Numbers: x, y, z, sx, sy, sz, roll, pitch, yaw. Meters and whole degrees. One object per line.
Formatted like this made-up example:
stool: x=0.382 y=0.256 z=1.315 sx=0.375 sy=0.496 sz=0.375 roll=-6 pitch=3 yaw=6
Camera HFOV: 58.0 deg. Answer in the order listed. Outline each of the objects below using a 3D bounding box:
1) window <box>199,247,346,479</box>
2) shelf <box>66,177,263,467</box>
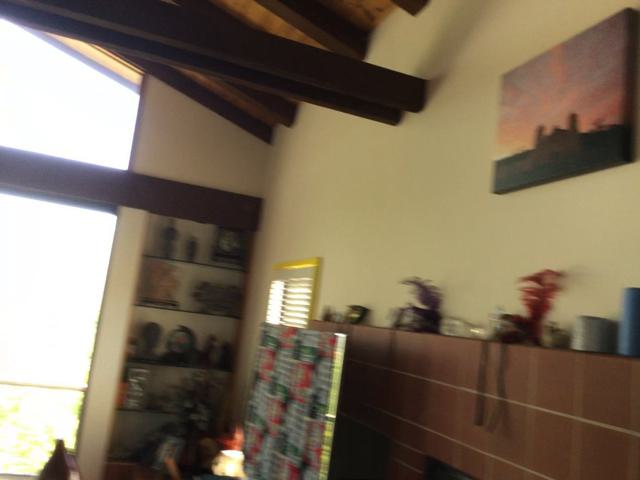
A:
window: x=-0.340 y=0.880 z=3.620 sx=0.220 sy=1.540 sz=1.160 roll=18 pitch=-14 yaw=-20
shelf: x=-1.220 y=0.640 z=4.630 sx=0.950 sy=2.000 sz=0.590 roll=18 pitch=-14 yaw=-20
